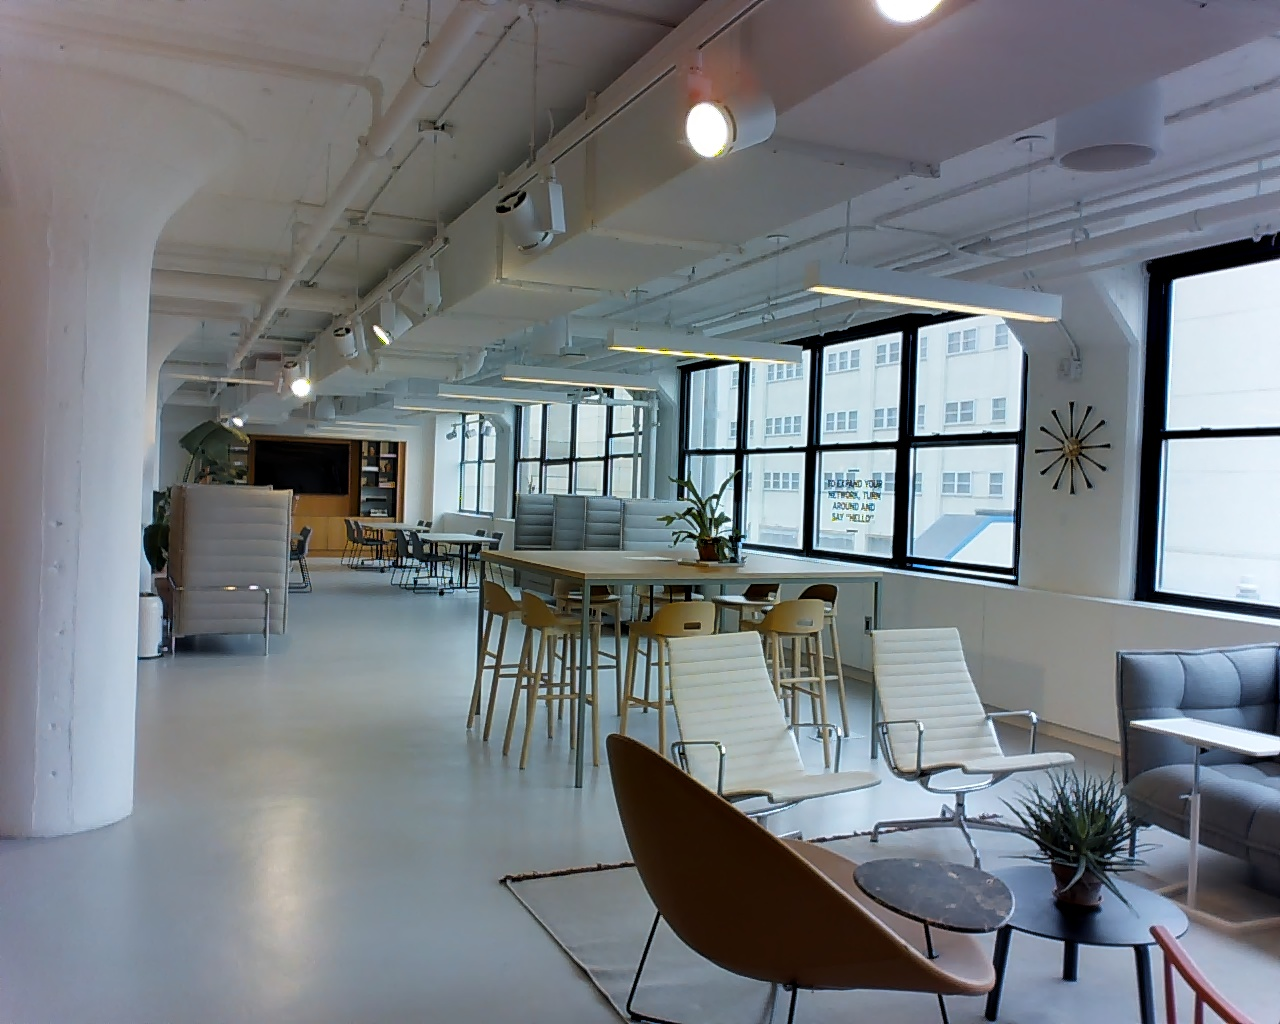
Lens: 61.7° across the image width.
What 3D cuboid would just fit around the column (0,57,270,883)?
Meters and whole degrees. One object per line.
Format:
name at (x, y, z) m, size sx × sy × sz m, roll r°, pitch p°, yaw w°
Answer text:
column at (-2.439, -0.150, 4.480) m, size 1.470 × 2.921 × 1.390 m, roll 2°, pitch 1°, yaw -24°
